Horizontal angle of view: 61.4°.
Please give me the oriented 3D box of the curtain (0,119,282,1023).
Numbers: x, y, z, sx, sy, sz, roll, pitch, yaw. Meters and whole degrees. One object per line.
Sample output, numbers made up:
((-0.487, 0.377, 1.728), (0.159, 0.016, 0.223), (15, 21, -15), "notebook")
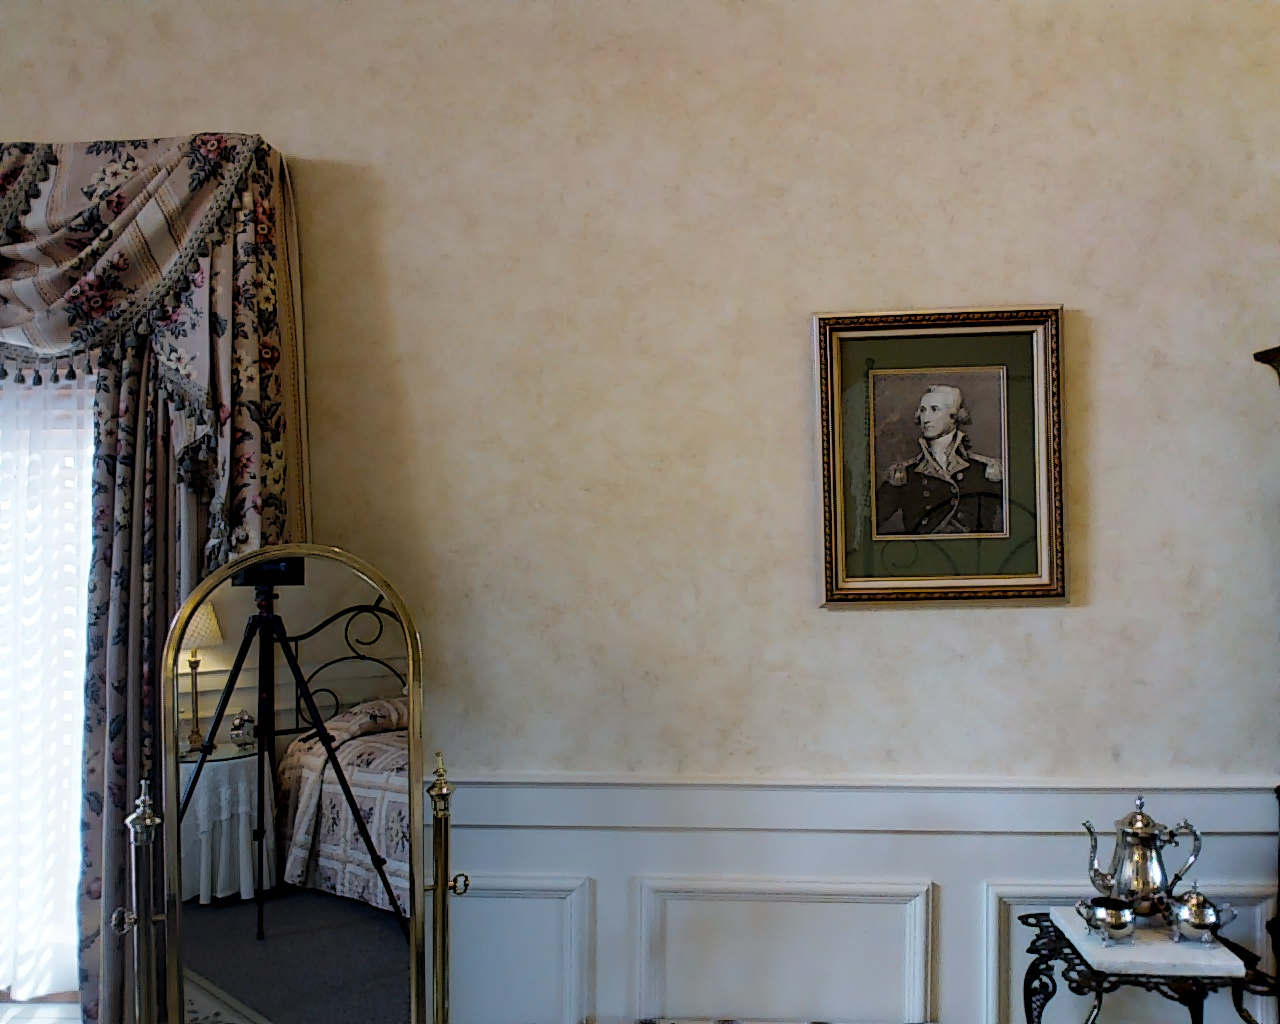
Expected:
((-1.680, 0.210, 2.200), (1.830, 1.940, 0.200), (0, -1, 2), "curtain")
